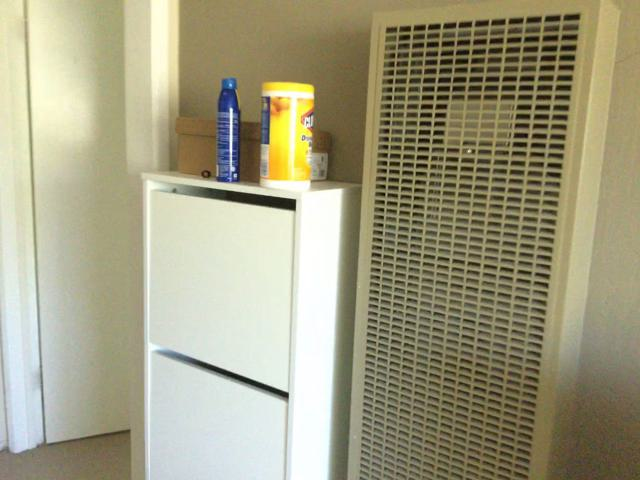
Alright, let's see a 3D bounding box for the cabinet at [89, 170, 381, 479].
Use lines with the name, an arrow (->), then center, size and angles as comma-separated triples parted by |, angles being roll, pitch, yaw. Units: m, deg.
cabinet -> -0.220, 0.500, 1.510 | 0.700, 1.340, 0.290 | 4, 8, 35
